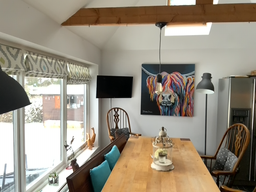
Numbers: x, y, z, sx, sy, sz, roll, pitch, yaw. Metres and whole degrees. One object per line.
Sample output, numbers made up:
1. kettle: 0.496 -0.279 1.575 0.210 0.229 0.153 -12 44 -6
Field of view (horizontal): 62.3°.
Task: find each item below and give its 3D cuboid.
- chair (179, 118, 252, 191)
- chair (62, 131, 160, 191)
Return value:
1. chair: 1.030 0.880 2.610 0.610 1.130 0.560 0 3 -5
2. chair: -0.030 1.020 2.460 0.620 0.840 1.630 1 4 15
